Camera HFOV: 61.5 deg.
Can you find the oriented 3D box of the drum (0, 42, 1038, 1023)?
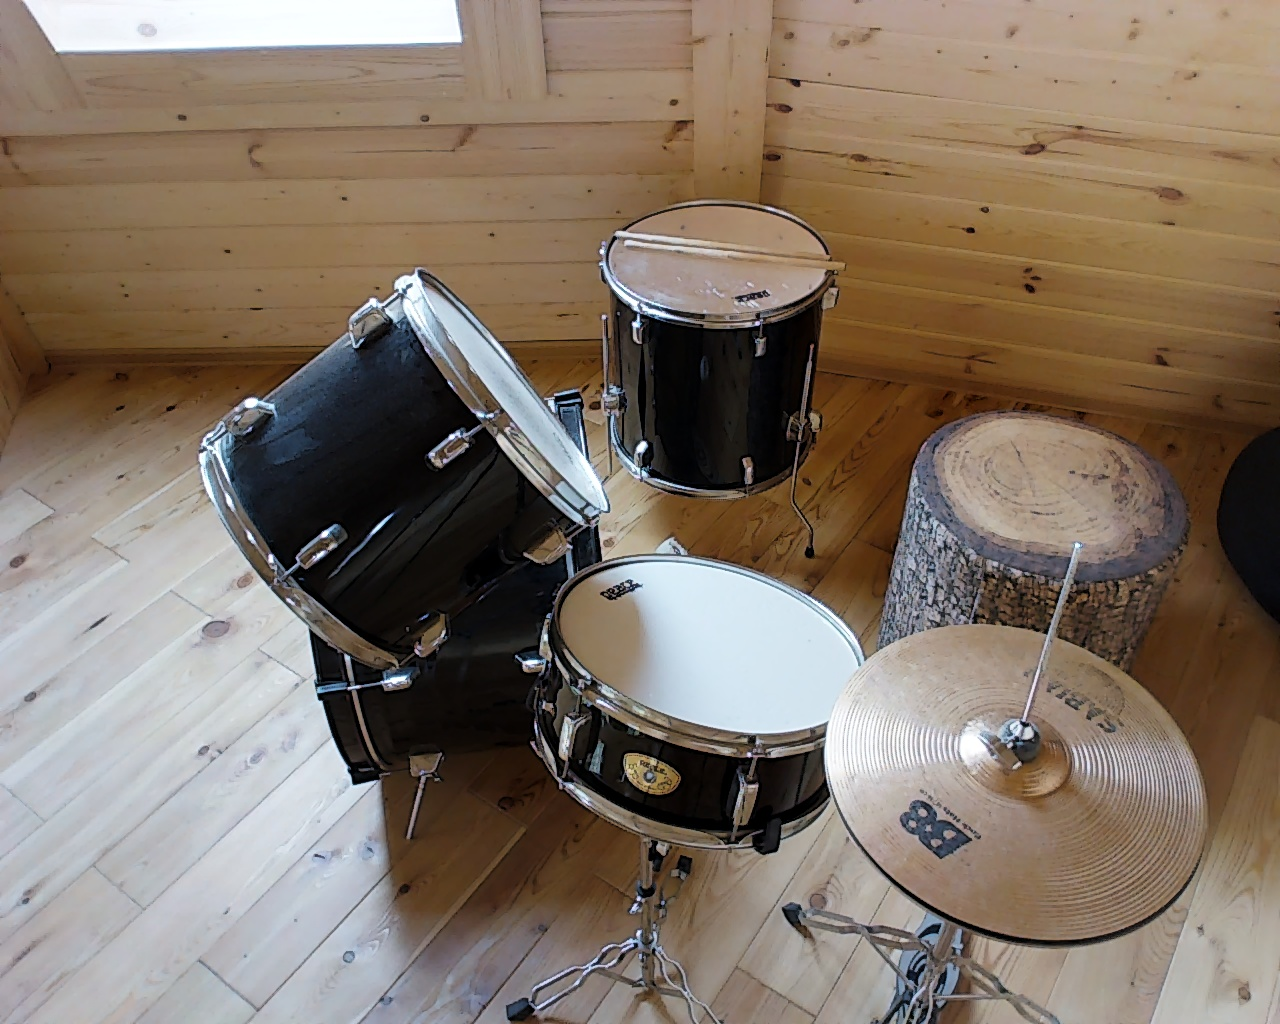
[{"bbox_3d":[-0.190,0.060,1.550,0.870,1.030,1.090,-5,42,-6],"label":"drum"}]
